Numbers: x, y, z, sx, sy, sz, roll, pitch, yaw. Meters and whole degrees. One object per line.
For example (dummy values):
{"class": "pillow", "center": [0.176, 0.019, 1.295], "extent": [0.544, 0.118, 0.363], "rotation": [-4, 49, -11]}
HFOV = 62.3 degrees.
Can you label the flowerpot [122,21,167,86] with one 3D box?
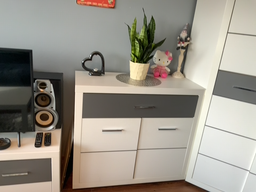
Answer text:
{"class": "flowerpot", "center": [0.120, -0.350, 1.750], "extent": [0.240, 0.480, 0.240], "rotation": [2, 20, -15]}
